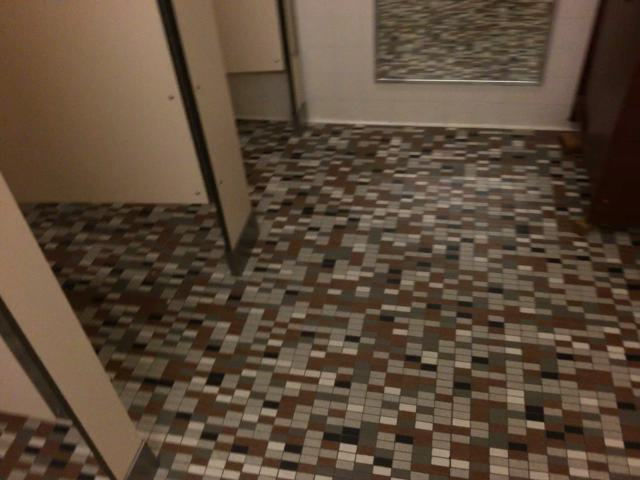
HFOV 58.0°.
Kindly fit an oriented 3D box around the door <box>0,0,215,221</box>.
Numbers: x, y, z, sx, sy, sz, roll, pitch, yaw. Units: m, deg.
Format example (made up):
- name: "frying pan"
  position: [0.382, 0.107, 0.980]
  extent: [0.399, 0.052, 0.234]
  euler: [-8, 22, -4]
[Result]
- name: "door"
  position: [-0.670, -0.590, 1.180]
  extent: [0.640, 1.380, 0.050]
  euler: [1, 41, 8]
